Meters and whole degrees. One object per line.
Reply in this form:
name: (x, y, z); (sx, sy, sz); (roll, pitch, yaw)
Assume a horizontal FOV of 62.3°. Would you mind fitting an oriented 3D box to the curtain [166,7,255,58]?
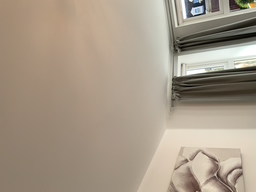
curtain: (1.630, -0.810, 2.370); (0.220, 2.390, 0.360); (15, -108, -63)
